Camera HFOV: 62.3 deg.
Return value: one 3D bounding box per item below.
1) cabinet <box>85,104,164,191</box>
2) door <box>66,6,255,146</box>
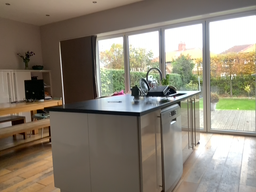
[{"bbox_3d":[-0.010,0.550,1.750,0.500,0.910,0.380,1,6,28],"label":"cabinet"},{"bbox_3d":[0.420,-0.330,4.630,4.450,2.380,0.130,1,6,28],"label":"door"}]
